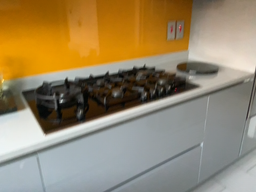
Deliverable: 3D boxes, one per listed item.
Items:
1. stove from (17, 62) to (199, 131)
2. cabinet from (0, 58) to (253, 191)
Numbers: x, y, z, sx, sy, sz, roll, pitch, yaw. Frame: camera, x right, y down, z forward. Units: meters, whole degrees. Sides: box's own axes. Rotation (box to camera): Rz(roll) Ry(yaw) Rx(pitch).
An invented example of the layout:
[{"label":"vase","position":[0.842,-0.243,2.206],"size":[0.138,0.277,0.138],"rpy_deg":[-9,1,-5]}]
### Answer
[{"label":"stove","position":[-0.110,-0.070,1.260],"size":[0.910,0.040,0.570],"rpy_deg":[-15,26,-31]},{"label":"cabinet","position":[-0.110,0.380,1.420],"size":[2.000,0.920,0.650],"rpy_deg":[-15,26,-31]}]
